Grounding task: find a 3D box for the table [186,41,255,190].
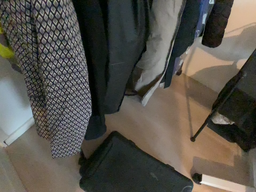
[{"bbox_3d":[0.790,0.120,1.130,0.610,0.640,0.510,34,61,17],"label":"table"}]
